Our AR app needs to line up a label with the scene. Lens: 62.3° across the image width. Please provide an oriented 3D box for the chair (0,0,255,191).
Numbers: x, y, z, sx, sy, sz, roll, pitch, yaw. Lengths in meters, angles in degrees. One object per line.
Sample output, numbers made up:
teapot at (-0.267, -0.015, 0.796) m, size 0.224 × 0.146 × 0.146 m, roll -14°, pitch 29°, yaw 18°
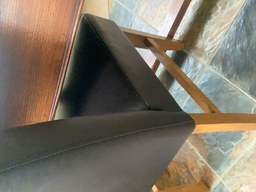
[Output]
chair at (-0.150, 0.080, 0.580) m, size 0.700 × 1.060 × 0.500 m, roll 53°, pitch 129°, yaw 41°
